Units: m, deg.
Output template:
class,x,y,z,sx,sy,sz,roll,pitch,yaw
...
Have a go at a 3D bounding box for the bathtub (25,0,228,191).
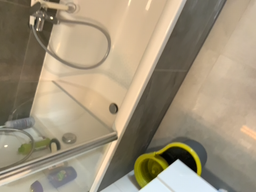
class,x,y,z,sx,sy,sz,roll,pitch,yaw
bathtub,-0.010,-0.330,1.290,0.690,0.560,1.570,36,114,27
